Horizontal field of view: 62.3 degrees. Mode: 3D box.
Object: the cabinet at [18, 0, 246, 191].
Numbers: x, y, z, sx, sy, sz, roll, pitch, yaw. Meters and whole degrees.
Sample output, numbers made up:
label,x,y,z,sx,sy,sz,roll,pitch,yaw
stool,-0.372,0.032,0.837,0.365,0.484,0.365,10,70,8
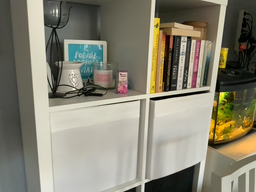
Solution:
label,x,y,z,sx,sy,sz,roll,pitch,yaw
cabinet,0.010,0.260,1.020,0.790,1.500,0.470,-8,17,-33
